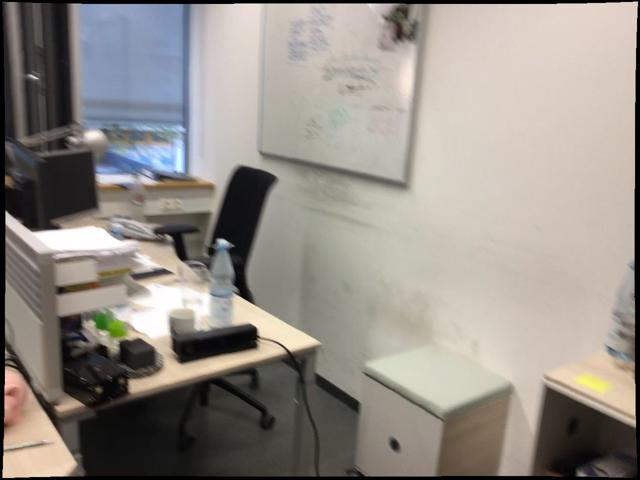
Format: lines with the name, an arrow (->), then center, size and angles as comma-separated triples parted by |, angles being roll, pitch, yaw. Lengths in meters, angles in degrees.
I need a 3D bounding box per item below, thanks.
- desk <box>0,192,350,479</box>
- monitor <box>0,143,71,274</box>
desk -> -0.989, 0.420, 2.490 | 0.949, 0.831, 2.209 | -8, 18, -38
monitor -> -1.039, -0.130, 2.080 | 0.140, 0.390, 0.410 | -8, 18, -38
